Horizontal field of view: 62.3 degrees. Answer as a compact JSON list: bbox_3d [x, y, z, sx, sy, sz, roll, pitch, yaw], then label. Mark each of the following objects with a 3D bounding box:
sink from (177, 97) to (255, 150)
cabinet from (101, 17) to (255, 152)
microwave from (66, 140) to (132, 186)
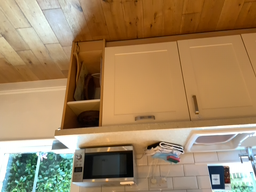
[{"bbox_3d":[0.640,0.240,1.650,0.430,0.210,0.540,-5,152,5],"label":"sink"},{"bbox_3d":[0.630,-0.080,1.810,1.600,0.880,0.590,-5,152,5],"label":"cabinet"},{"bbox_3d":[-0.210,0.550,1.710,0.430,0.270,0.360,-6,152,7],"label":"microwave"}]
